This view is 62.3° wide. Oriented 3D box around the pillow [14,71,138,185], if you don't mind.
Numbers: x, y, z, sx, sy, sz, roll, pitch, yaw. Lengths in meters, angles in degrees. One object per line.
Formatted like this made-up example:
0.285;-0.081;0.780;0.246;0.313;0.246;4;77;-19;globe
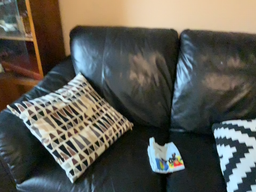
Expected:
-0.310;0.100;1.160;0.410;0.170;0.650;-19;36;-31;pillow

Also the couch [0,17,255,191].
0.230;0.190;1.160;1.600;0.910;0.980;8;31;10;couch
